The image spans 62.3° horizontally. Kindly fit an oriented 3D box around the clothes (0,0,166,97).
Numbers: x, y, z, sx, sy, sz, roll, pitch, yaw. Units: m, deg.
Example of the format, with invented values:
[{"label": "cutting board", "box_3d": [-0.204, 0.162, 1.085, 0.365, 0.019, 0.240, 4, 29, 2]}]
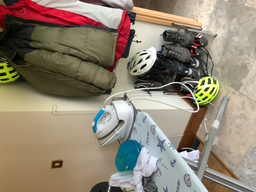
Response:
[{"label": "clothes", "box_3d": [-0.400, -0.360, 1.540, 0.520, 1.180, 0.620, -27, 66, 61]}]
